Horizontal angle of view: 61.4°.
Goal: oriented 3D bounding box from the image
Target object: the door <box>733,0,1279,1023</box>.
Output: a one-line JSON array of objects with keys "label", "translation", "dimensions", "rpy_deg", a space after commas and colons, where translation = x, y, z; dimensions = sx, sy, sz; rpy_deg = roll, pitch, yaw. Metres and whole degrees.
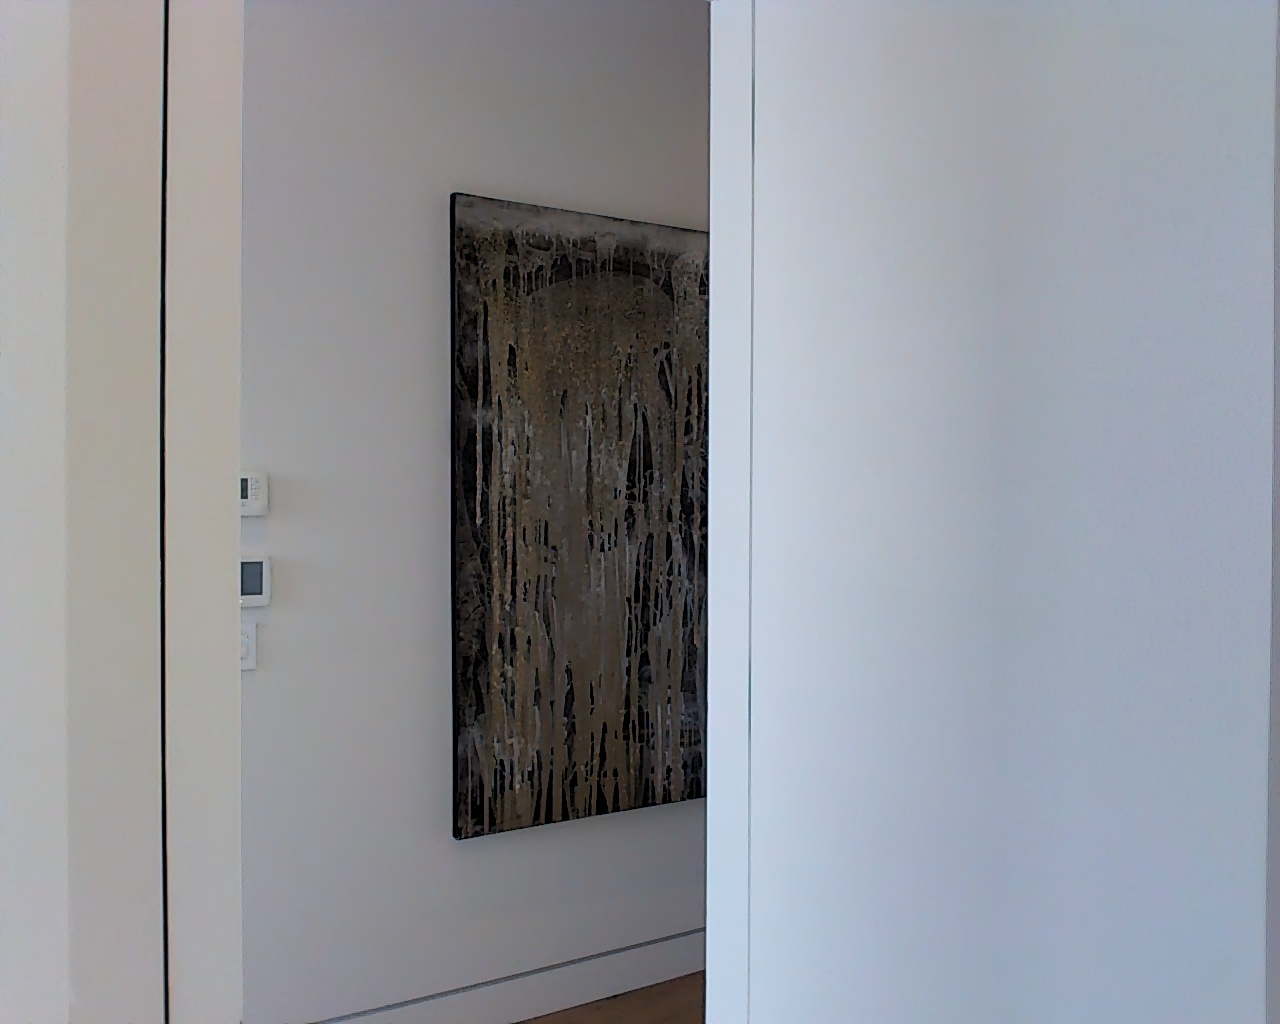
[{"label": "door", "translation": [0.390, 0.330, 1.360], "dimensions": [0.050, 2.420, 0.840], "rpy_deg": [0, 1, -32]}]
